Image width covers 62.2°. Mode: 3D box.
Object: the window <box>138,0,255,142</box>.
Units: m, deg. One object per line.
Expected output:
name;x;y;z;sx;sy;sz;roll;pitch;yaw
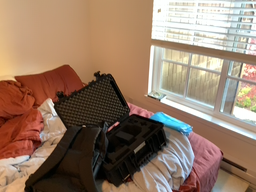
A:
window;0.740;-0.470;1.740;1.600;1.490;0.110;23;33;39

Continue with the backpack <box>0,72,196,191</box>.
backpack;-0.170;0.210;1.320;1.010;0.370;0.660;-20;32;-38
